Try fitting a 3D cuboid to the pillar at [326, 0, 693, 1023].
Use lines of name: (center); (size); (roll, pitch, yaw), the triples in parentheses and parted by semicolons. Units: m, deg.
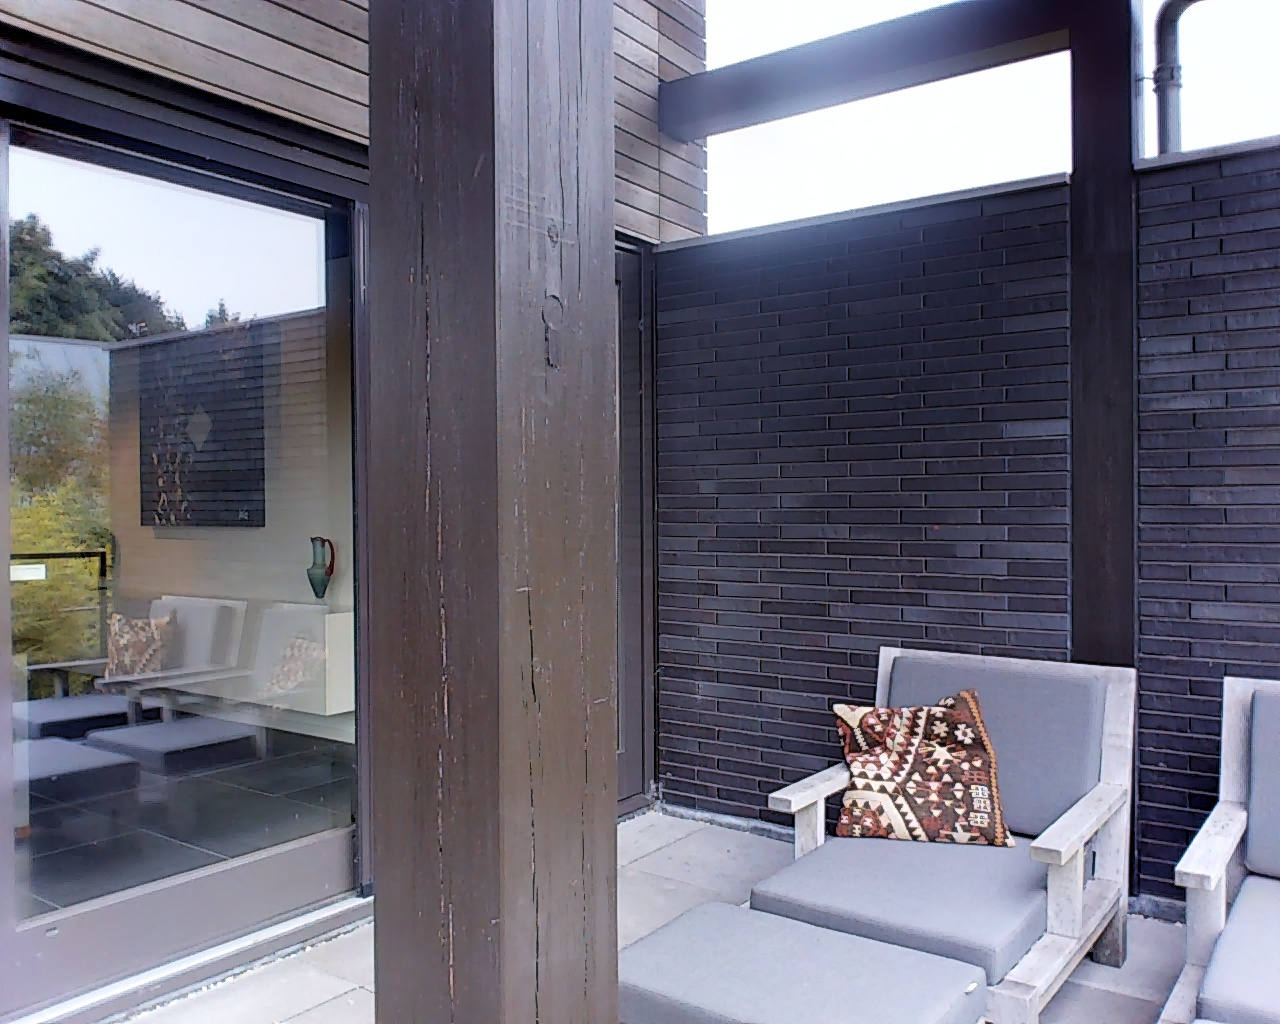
pillar: (-0.140, -0.080, 1.220); (0.260, 2.670, 0.320); (1, 1, 37)
